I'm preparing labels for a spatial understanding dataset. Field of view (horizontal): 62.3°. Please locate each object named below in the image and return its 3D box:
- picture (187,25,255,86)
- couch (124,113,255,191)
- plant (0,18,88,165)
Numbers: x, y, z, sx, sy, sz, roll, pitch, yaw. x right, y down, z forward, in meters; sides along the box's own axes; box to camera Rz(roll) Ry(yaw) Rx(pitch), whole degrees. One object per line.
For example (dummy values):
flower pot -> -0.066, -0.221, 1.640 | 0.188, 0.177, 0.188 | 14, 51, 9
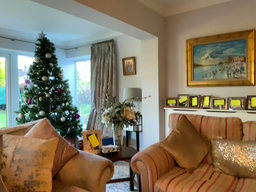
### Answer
picture -> 1.360, -0.540, 3.040 | 1.020, 0.770, 0.050 | 0, 2, 36
couch -> 0.890, 0.650, 1.800 | 1.610, 0.850, 0.880 | 0, 2, 33
plant -> -1.600, -0.070, 4.000 | 1.250, 2.270, 1.060 | -1, 2, 20
